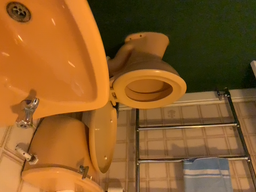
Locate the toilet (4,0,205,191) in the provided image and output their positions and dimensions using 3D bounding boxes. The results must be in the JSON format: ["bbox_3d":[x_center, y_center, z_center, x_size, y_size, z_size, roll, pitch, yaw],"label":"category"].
[{"bbox_3d":[-0.050,0.020,1.210,0.680,0.960,0.600,-5,145,8],"label":"toilet"}]

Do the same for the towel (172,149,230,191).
[{"bbox_3d":[0.470,0.530,1.400,0.310,0.320,0.100,-3,145,5],"label":"towel"}]
